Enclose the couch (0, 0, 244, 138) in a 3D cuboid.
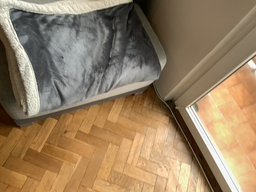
[{"bbox_3d":[-0.290,-0.550,1.130,0.920,0.840,1.100,-16,70,-24],"label":"couch"}]
